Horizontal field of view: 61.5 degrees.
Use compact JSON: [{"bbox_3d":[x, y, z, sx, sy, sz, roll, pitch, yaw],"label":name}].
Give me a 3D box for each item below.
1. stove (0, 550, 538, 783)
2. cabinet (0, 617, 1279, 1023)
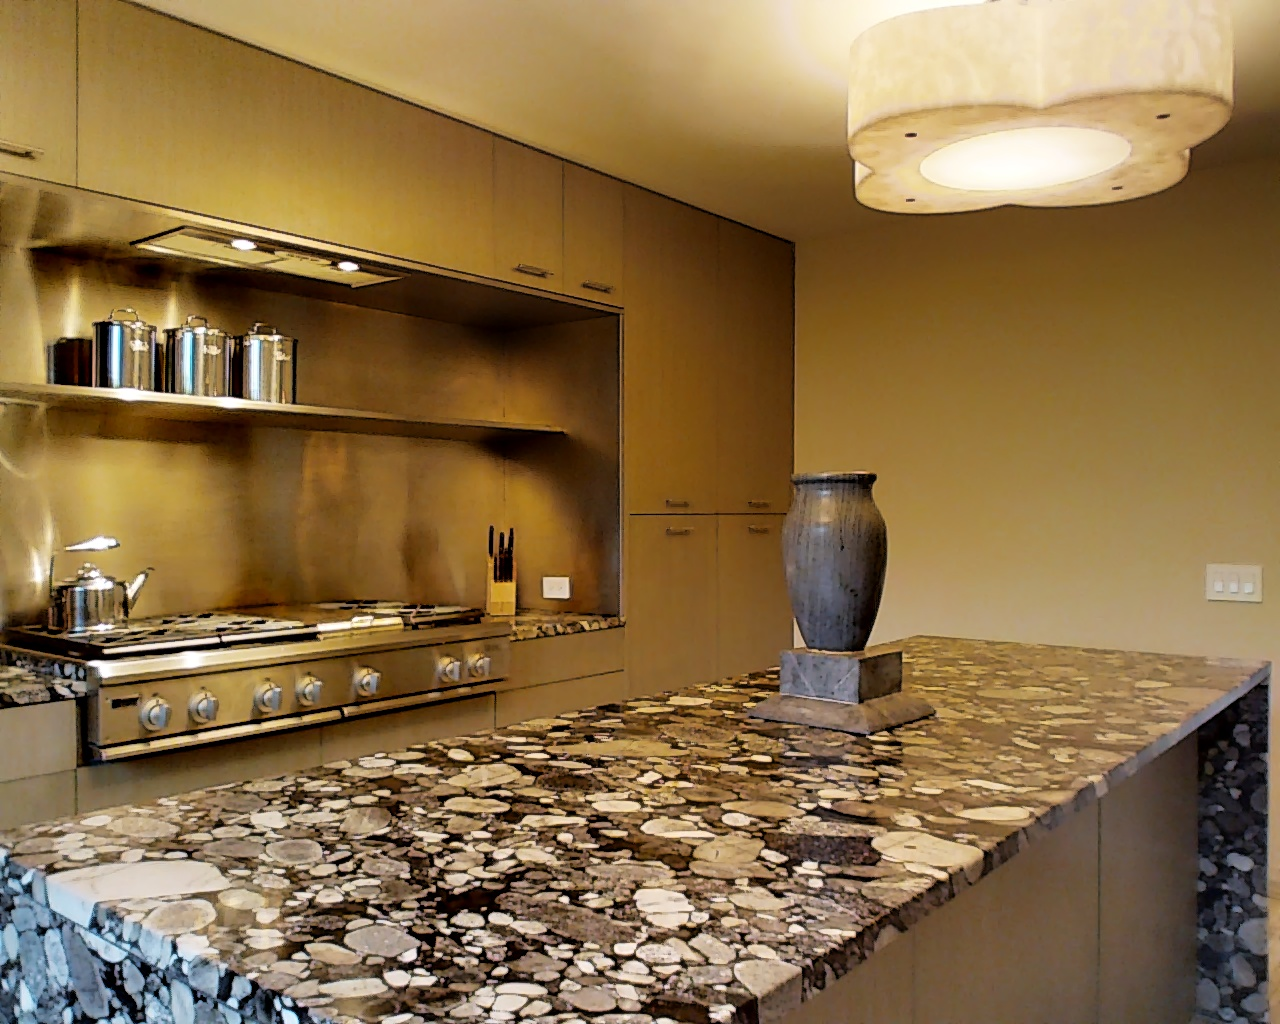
[{"bbox_3d":[-0.980,0.350,2.980,0.710,0.440,1.260,0,0,39],"label":"stove"},{"bbox_3d":[0.390,0.800,1.970,1.020,0.950,2.620,0,0,39],"label":"cabinet"}]
